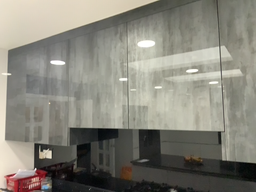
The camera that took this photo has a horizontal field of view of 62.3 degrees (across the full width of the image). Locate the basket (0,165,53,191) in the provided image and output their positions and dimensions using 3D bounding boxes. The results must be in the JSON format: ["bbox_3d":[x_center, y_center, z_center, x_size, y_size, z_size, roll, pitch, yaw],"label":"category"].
[{"bbox_3d":[-1.080,0.890,2.270,0.290,0.170,0.420,-4,-6,33],"label":"basket"}]
